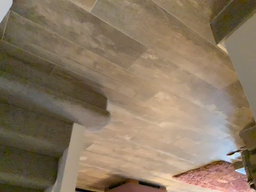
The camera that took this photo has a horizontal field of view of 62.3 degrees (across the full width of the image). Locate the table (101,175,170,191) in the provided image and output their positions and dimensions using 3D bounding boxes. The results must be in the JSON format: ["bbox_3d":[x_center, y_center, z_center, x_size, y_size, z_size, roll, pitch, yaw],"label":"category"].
[{"bbox_3d":[0.100,1.670,3.420,0.810,0.450,0.810,24,138,-27],"label":"table"}]
